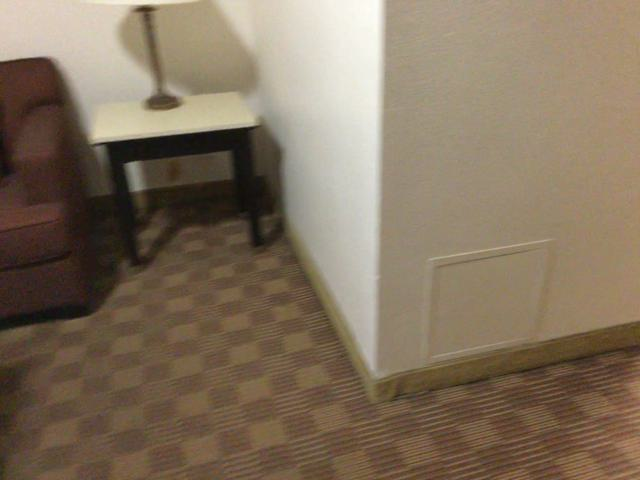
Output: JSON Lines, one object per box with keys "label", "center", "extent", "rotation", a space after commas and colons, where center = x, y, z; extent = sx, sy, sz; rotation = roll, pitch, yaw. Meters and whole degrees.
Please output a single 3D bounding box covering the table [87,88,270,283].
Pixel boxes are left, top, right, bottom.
{"label": "table", "center": [-0.590, -0.260, 2.500], "extent": [0.640, 0.640, 0.510], "rotation": [-6, 28, -13]}
